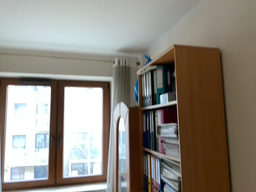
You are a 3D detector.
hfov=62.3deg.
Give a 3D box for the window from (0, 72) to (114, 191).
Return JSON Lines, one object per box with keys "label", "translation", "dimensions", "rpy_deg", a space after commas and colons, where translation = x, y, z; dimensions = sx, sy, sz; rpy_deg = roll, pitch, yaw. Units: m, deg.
{"label": "window", "translation": [-0.960, 0.450, 2.730], "dimensions": [1.540, 1.450, 0.150], "rpy_deg": [1, -8, -20]}
